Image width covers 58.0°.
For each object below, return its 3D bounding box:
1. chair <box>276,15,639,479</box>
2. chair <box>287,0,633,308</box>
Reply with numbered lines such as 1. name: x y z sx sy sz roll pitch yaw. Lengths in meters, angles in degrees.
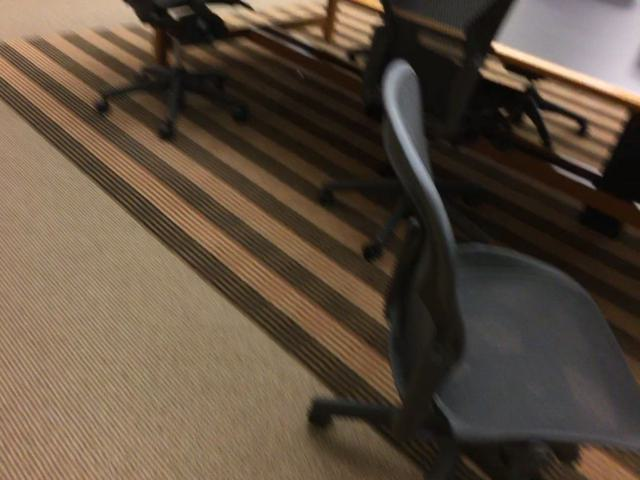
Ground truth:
1. chair: 0.310 0.180 1.090 0.690 0.940 0.520 8 35 -2
2. chair: 0.420 -0.490 1.930 0.670 1.060 0.690 -24 47 -39
